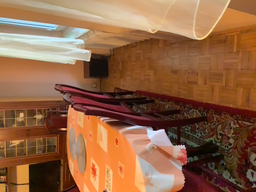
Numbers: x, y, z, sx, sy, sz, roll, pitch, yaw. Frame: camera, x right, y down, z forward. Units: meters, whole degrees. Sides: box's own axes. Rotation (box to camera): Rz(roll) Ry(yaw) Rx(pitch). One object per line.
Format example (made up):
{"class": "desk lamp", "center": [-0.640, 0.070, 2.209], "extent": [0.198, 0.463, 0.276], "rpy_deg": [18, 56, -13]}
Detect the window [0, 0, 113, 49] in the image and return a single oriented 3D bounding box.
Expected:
{"class": "window", "center": [-1.310, -0.710, 1.950], "extent": [1.840, 1.740, 0.230], "rpy_deg": [15, 103, 62]}
